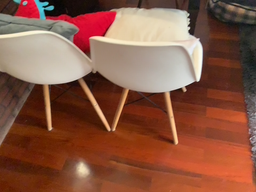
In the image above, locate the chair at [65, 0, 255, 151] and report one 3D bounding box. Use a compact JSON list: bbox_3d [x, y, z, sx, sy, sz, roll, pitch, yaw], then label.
[{"bbox_3d":[0.120,-0.180,1.030,0.470,0.800,0.630,1,57,6],"label":"chair"}]
